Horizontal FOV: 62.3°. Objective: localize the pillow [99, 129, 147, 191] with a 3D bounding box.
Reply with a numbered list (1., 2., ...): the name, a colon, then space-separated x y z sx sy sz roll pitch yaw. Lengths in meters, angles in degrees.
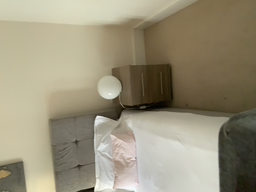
1. pillow: -0.040 0.650 2.080 0.110 0.250 0.580 2 67 62
